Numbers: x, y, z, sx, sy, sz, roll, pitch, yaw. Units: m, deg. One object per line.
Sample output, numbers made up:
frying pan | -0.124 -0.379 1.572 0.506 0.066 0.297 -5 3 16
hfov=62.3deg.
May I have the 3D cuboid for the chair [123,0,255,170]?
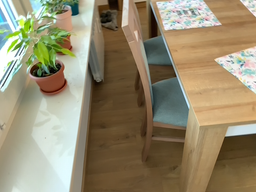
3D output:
chair | 0.280 -0.010 1.240 0.520 0.990 0.410 -4 44 2
